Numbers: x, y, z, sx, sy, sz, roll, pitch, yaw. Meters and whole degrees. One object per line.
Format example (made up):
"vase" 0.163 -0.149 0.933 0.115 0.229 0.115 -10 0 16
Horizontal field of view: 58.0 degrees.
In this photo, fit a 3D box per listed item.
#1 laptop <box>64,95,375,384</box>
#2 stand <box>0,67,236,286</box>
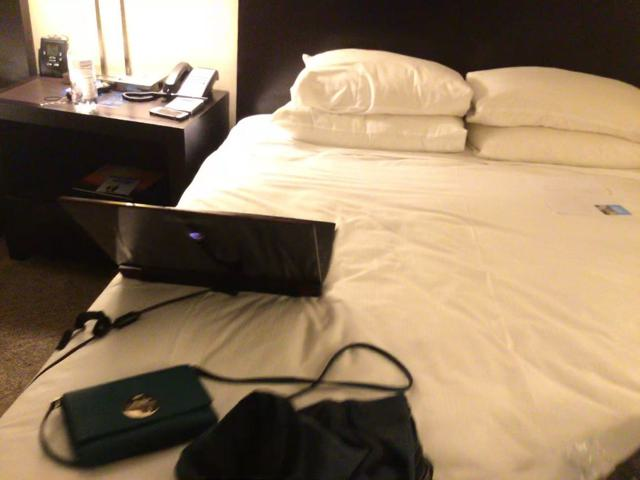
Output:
"laptop" -0.170 -0.040 1.190 0.450 0.270 0.490 19 30 2
"stand" -0.790 -0.270 2.320 0.760 0.620 0.460 11 29 4
